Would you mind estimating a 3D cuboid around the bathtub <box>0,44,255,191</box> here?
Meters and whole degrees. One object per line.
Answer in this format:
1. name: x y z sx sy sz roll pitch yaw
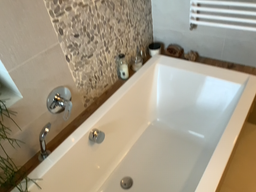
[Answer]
1. bathtub: 0.040 0.490 1.300 0.900 0.590 2.060 20 49 30
